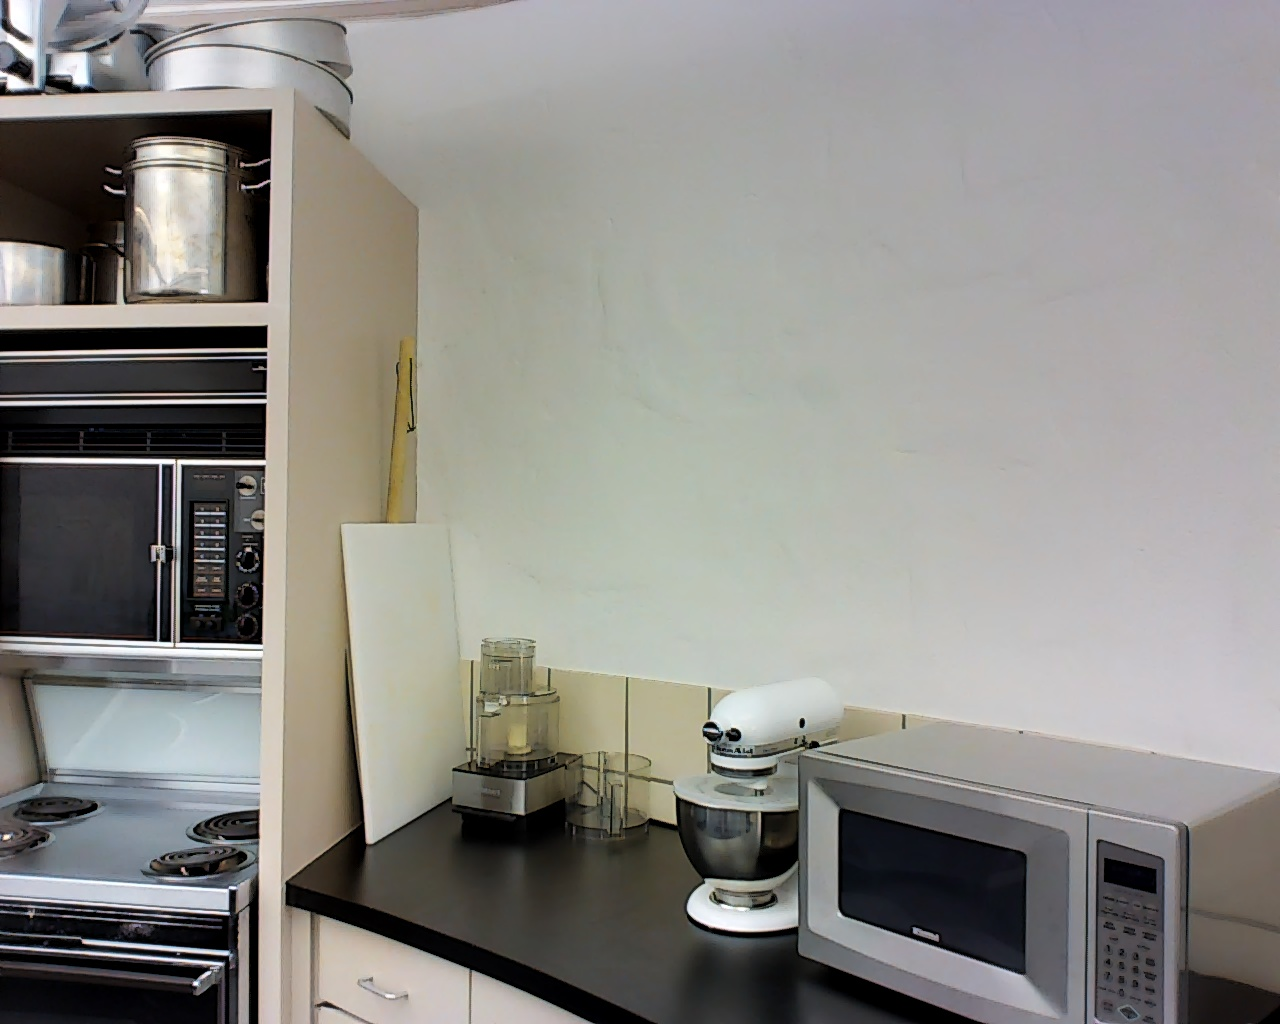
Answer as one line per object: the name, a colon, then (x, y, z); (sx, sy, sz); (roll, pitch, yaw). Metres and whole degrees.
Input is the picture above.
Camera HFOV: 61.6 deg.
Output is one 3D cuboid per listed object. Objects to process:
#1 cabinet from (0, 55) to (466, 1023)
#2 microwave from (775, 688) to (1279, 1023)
cabinet: (-0.970, 0.380, 2.190); (1.010, 2.240, 0.820); (1, 0, 6)
microwave: (0.540, 0.460, 1.420); (0.410, 0.340, 0.590); (1, 0, -41)
